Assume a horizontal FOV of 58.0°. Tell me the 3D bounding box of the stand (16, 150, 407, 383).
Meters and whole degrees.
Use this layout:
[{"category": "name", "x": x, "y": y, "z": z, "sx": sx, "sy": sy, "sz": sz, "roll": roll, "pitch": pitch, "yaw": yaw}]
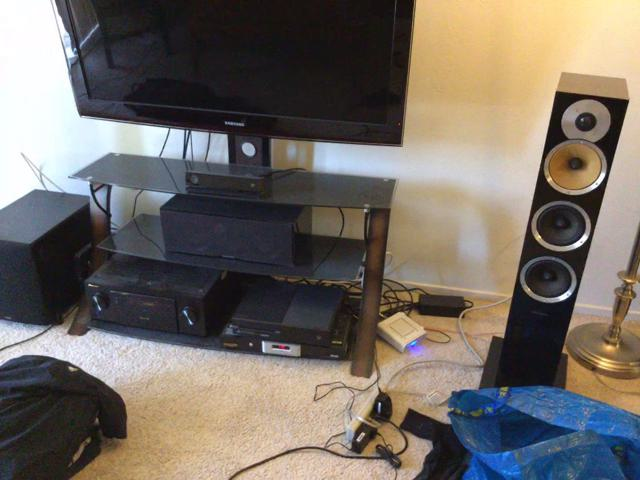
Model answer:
[{"category": "stand", "x": -0.330, "y": 0.050, "z": 2.090, "sx": 1.230, "sy": 0.640, "sz": 0.480, "roll": 3, "pitch": 20, "yaw": 11}]
